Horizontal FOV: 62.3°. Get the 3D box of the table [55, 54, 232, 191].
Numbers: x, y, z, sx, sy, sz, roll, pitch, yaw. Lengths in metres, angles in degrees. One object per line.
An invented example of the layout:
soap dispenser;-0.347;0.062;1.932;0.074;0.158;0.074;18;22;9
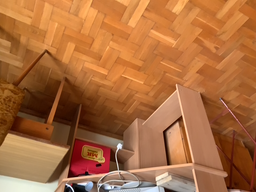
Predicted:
table;0.060;0.380;1.820;0.980;0.680;0.950;20;134;-21
